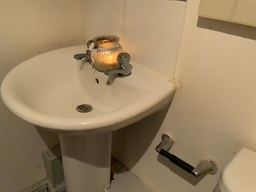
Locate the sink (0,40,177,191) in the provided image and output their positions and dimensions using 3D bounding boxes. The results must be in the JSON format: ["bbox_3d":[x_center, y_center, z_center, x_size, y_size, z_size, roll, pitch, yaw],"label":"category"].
[{"bbox_3d":[-0.210,-0.010,0.770,0.430,0.200,0.590,-23,39,-39],"label":"sink"}]
